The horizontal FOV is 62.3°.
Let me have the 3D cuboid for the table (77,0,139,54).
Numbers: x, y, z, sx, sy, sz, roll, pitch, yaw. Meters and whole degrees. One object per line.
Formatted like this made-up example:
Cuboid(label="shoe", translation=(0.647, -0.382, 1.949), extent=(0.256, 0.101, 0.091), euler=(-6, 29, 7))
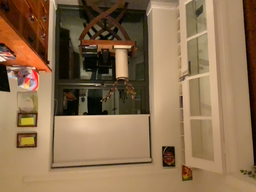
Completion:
Cuboid(label="table", translation=(-0.250, -0.880, 2.460), extent=(0.640, 0.640, 0.500), euler=(0, 174, -11))
